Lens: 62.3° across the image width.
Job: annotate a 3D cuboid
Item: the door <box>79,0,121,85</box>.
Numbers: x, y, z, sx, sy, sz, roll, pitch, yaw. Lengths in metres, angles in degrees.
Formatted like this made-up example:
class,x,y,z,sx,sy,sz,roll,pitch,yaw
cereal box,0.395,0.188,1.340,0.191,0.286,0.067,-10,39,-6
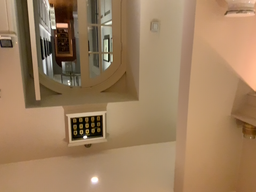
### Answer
class,x,y,z,sx,sy,sz,roll,pitch,yaw
door,-0.350,-1.130,2.700,0.540,1.980,0.030,-4,-166,-18

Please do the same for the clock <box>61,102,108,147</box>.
class,x,y,z,sx,sy,sz,roll,pitch,yaw
clock,-0.470,0.310,2.330,0.490,0.440,0.090,-4,-166,-18
